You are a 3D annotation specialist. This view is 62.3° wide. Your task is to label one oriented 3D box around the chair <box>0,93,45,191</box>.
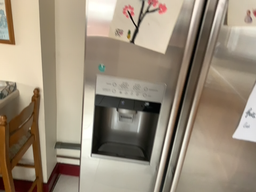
[{"bbox_3d":[-0.820,0.460,1.370,0.380,0.870,0.380,8,24,1],"label":"chair"}]
